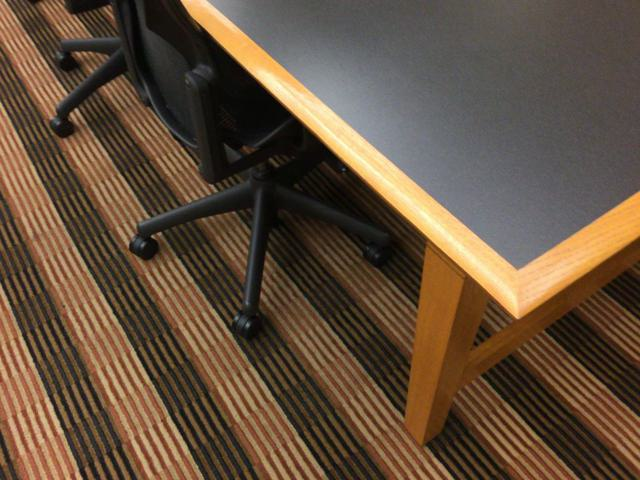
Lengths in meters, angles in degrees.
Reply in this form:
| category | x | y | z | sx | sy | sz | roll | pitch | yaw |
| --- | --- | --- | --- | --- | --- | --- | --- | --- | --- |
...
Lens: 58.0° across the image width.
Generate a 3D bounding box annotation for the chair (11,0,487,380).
| category | x | y | z | sx | sy | sz | roll | pitch | yaw |
| --- | --- | --- | --- | --- | --- | --- | --- | --- | --- |
| chair | -0.160 | -0.330 | 1.220 | 0.650 | 0.980 | 0.630 | -30 | 58 | -22 |
